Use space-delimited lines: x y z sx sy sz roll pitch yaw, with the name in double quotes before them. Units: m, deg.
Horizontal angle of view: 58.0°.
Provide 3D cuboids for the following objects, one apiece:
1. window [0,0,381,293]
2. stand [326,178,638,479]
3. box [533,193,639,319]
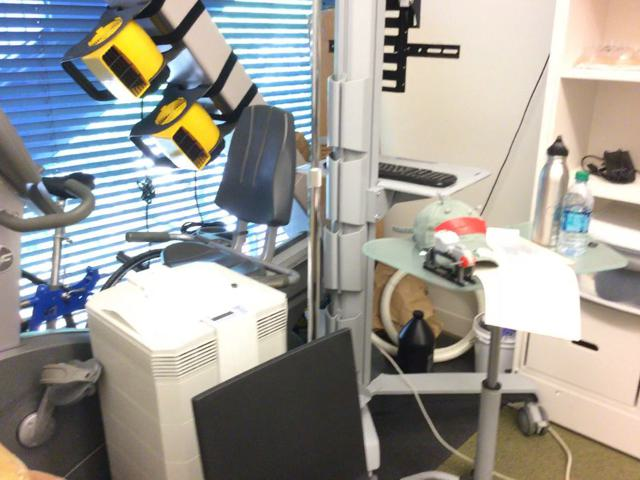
"window" -0.610 -0.810 2.240 0.450 1.570 2.190 14 22 41
"stand" 0.390 0.390 1.490 0.530 0.980 0.500 14 22 41
"box" 1.000 0.040 1.870 0.440 0.270 0.400 14 22 41
